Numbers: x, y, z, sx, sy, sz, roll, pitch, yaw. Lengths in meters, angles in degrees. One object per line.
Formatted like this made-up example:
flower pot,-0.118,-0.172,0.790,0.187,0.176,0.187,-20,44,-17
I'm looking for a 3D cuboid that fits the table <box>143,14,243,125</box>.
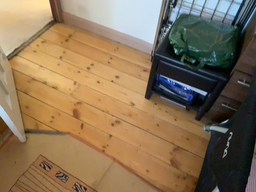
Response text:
table,0.460,-0.200,1.580,0.460,0.480,0.510,25,56,13
